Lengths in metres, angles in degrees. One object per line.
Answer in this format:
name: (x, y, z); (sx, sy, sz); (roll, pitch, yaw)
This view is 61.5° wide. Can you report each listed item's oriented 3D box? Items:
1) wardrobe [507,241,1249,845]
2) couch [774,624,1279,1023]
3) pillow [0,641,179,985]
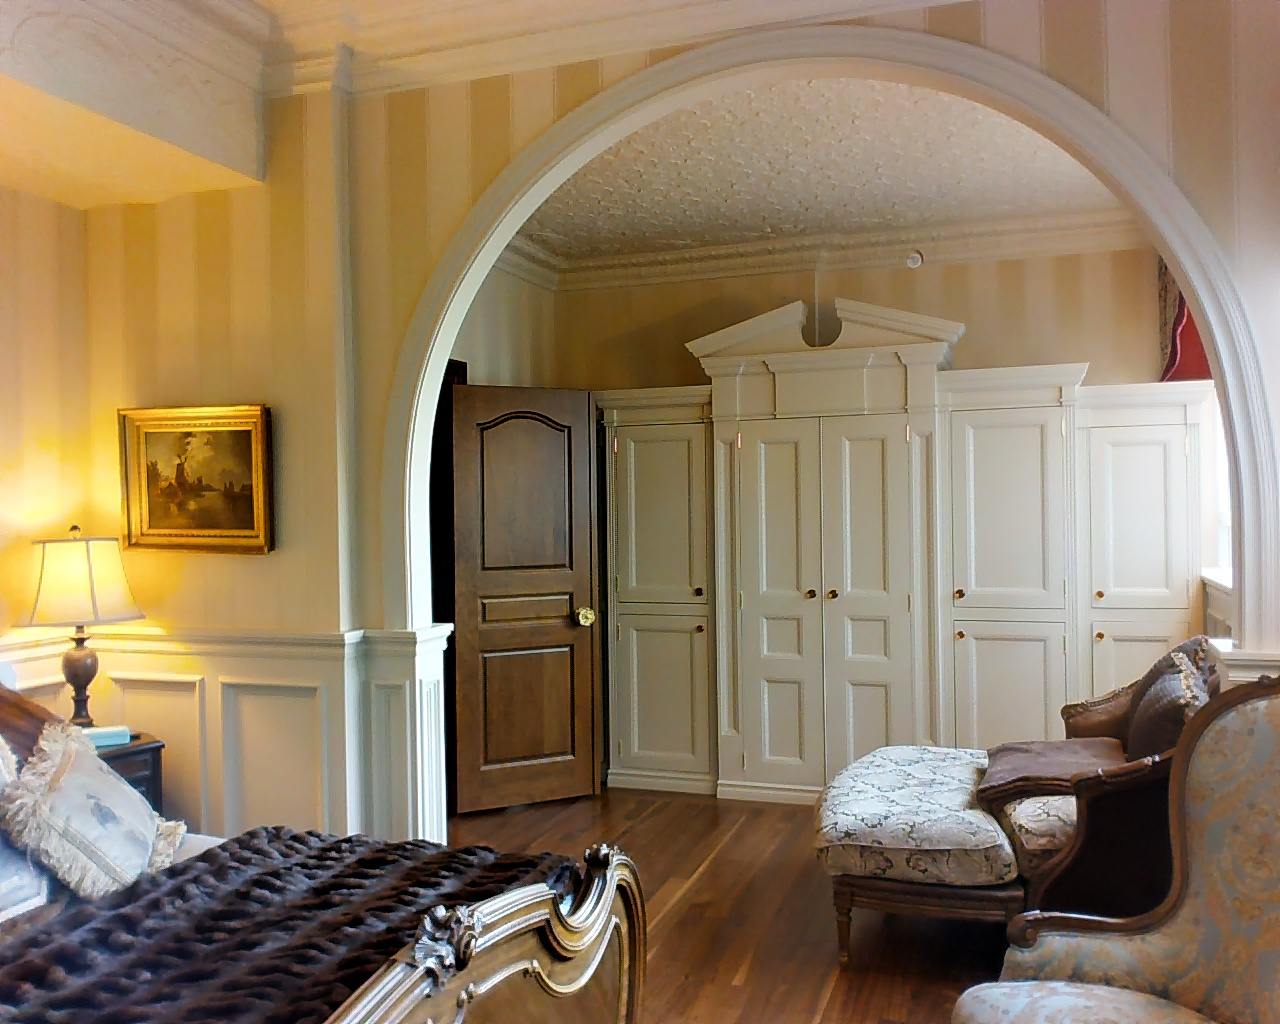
wardrobe: (0.960, 0.160, 5.140); (3.349, 2.481, 0.310); (-1, 0, 20)
couch: (1.320, 0.930, 3.620); (1.460, 0.950, 1.240); (-1, 0, 20)
pillow: (-1.070, 0.570, 2.100); (0.150, 0.390, 0.510); (-21, 34, -9)
